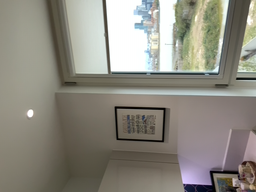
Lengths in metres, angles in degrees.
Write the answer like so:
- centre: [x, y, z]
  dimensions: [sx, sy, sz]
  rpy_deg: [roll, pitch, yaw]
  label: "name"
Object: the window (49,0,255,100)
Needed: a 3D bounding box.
- centre: [0.680, -0.460, 1.760]
  dimensions: [0.060, 2.640, 1.050]
  rpy_deg: [-76, -14, -63]
  label: "window"
